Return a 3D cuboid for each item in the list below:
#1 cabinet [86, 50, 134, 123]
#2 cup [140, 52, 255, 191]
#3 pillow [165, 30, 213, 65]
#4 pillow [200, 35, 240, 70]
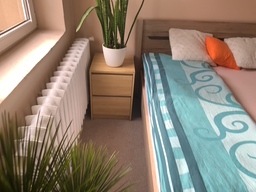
[{"bbox_3d":[-0.160,-0.110,2.180,0.410,0.570,0.490,2,32,0],"label":"cabinet"},{"bbox_3d":[0.460,0.120,1.310,0.680,0.140,1.840,1,32,0],"label":"cup"},{"bbox_3d":[0.560,-0.470,2.020,0.350,0.220,0.330,2,32,0],"label":"pillow"},{"bbox_3d":[0.880,-0.430,2.070,0.210,0.240,0.310,1,32,-1],"label":"pillow"}]
